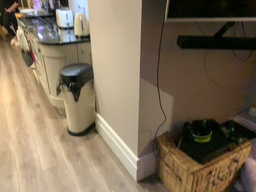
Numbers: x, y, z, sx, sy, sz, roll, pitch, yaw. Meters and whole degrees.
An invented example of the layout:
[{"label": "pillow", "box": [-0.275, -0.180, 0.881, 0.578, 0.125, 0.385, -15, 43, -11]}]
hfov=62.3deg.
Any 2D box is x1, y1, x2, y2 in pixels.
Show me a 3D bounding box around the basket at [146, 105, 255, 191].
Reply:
[{"label": "basket", "box": [0.610, 0.480, 1.660, 0.790, 0.480, 0.460, -15, 31, -27]}]
